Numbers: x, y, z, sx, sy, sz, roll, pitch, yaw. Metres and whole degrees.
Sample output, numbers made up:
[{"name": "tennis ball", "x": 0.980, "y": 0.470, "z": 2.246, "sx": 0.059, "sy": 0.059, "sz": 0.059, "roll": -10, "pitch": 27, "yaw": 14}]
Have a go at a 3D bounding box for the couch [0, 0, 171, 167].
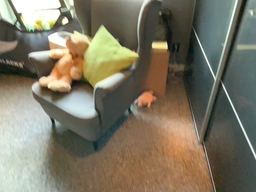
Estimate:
[{"name": "couch", "x": -0.260, "y": -0.230, "z": 1.750, "sx": 0.780, "sy": 0.970, "sz": 0.930, "roll": 23, "pitch": 44, "yaw": 28}]
